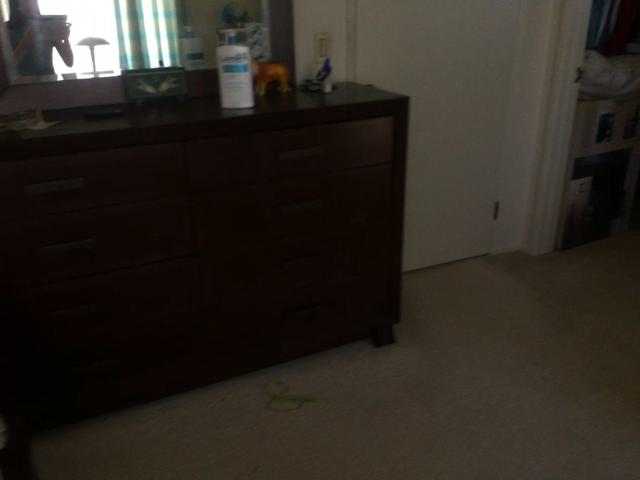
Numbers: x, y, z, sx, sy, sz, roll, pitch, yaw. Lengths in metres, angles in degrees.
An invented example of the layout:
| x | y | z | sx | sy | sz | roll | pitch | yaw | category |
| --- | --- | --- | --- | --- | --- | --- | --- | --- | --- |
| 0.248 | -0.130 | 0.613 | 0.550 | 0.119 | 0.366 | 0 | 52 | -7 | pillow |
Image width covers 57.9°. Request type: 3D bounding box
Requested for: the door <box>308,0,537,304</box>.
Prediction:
| x | y | z | sx | sy | sz | roll | pitch | yaw | category |
| --- | --- | --- | --- | --- | --- | --- | --- | --- | --- |
| 0.450 | -0.630 | 2.420 | 0.980 | 1.700 | 0.130 | -11 | 22 | -21 | door |
